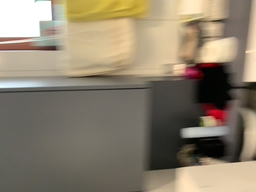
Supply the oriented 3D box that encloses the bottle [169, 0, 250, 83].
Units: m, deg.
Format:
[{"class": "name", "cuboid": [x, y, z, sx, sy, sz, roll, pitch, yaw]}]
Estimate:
[{"class": "bottle", "cuboid": [0.430, -0.370, 1.210, 0.400, 0.240, 0.530, -125, 34, -74]}]
